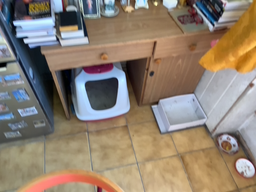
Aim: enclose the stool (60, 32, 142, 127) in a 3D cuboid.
[{"bbox_3d":[-0.210,-0.120,1.560,0.470,0.450,0.470,-7,55,-10],"label":"stool"}]
